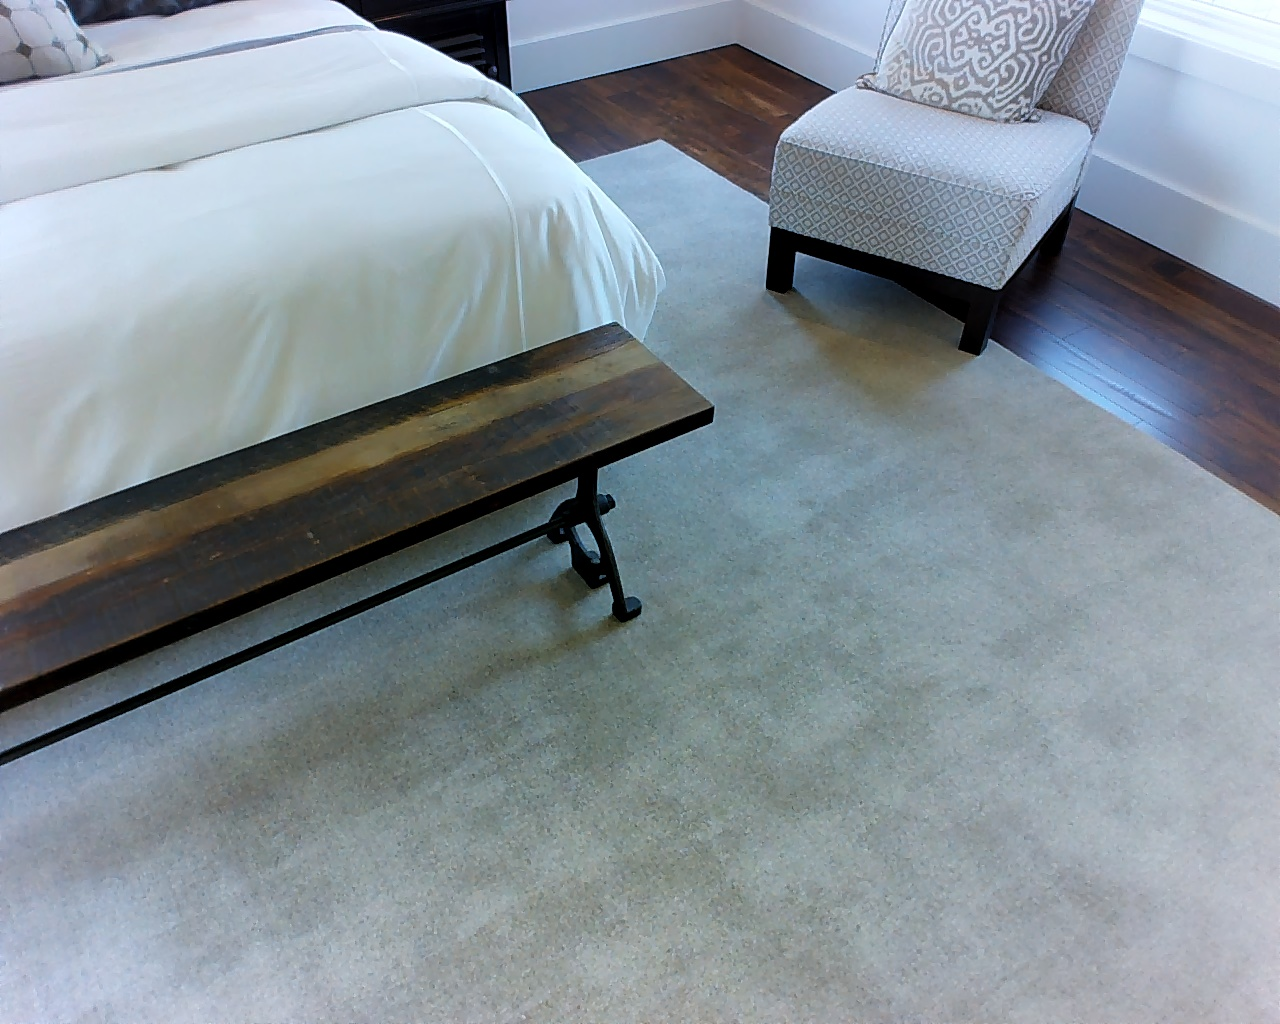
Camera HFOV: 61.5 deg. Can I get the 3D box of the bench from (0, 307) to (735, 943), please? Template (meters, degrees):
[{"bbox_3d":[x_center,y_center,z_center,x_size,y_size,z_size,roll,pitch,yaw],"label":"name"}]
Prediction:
[{"bbox_3d":[-0.700,0.210,1.730,1.810,0.450,0.380,-24,47,-24],"label":"bench"}]
